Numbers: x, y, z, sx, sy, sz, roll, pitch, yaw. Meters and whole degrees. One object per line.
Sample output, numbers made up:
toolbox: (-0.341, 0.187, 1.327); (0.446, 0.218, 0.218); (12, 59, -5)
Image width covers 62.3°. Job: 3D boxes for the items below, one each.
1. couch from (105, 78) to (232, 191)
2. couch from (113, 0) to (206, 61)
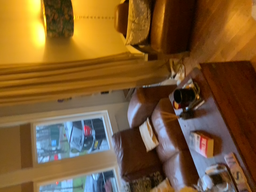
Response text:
couch: (0.350, 0.770, 2.500); (1.040, 0.780, 1.620); (116, 143, -55)
couch: (0.290, -0.890, 2.430); (0.850, 0.680, 0.760); (-131, 40, -58)
